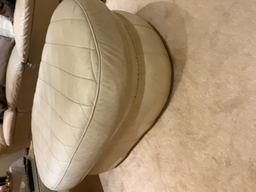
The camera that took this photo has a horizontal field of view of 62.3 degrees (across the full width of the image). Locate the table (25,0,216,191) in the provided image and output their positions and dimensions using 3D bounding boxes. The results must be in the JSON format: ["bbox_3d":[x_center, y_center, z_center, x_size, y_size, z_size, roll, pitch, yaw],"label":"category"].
[{"bbox_3d":[-0.210,0.030,1.150,1.010,0.450,0.700,-58,46,38],"label":"table"}]
